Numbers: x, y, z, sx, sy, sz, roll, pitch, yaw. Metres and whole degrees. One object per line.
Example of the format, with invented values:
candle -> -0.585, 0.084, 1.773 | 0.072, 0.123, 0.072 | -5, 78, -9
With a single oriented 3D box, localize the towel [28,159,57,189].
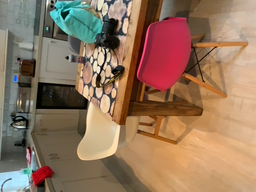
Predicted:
towel -> -0.960, 0.860, 2.370 | 0.250, 0.250, 0.170 | 27, 111, 55

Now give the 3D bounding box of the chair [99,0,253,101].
chair -> 0.300, -0.270, 1.400 | 0.510, 0.780, 0.450 | 30, 113, 54
